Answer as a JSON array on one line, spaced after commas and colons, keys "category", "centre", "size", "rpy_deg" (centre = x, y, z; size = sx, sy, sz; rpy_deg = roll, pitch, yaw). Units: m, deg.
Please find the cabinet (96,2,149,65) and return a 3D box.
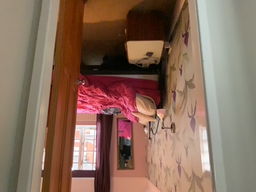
[{"category": "cabinet", "centre": [-0.090, -0.650, 2.340], "size": [0.510, 0.390, 0.570], "rpy_deg": [2, 165, -9]}]
